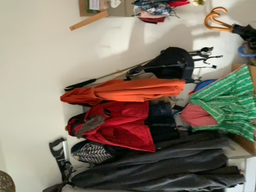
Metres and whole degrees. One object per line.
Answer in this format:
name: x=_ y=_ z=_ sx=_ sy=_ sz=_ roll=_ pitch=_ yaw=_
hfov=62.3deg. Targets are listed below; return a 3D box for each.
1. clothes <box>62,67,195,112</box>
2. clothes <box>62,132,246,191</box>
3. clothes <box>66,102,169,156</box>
clothes: x=0.010 y=-0.060 z=1.550 sx=0.220 sy=0.900 sz=0.230 roll=-111 pitch=18 yaw=-77
clothes: x=0.180 y=0.550 z=1.610 sx=0.400 sy=1.210 sz=0.310 roll=-109 pitch=16 yaw=-75
clothes: x=-0.070 y=0.230 z=1.590 sx=0.300 sy=0.690 sz=0.260 roll=-111 pitch=17 yaw=-76
